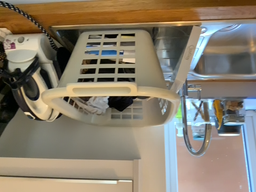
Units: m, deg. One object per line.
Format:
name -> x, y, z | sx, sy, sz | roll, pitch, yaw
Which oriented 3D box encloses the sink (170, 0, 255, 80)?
sink -> 0.450, -0.240, 0.880 | 0.480, 0.180, 0.510 | 0, 164, 5
